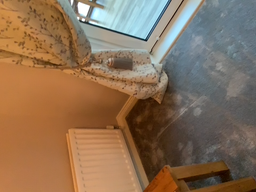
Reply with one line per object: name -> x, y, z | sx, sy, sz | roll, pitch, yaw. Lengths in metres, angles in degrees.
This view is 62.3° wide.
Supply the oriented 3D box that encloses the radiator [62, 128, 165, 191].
radiator -> -0.080, 0.680, 1.700 | 0.110, 0.740, 0.940 | -56, 43, 35
